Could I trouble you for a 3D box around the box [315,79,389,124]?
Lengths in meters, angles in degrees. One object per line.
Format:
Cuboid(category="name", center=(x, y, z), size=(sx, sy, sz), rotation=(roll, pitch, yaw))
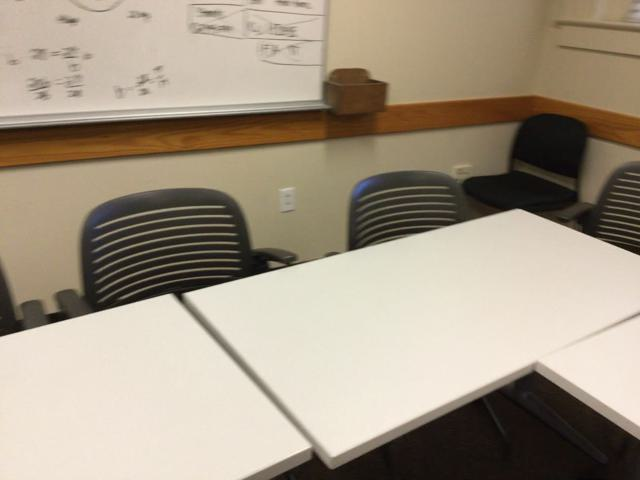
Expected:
Cuboid(category="box", center=(0.140, -0.620, 2.580), size=(0.290, 0.170, 0.130), rotation=(-8, 26, -27))
